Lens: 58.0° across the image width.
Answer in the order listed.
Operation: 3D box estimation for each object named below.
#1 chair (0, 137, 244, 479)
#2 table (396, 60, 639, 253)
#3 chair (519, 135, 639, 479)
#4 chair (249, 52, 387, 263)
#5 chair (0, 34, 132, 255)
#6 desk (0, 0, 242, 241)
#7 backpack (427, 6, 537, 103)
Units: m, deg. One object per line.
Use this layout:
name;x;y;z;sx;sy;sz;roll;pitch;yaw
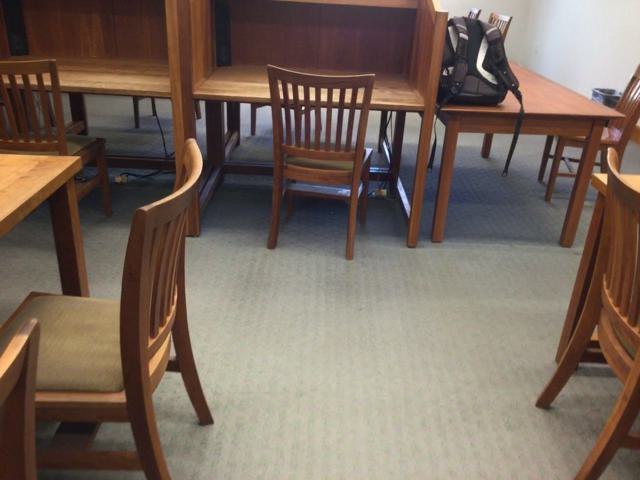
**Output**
chair;-0.570;0.260;1.470;0.620;0.910;0.560;-1;24;0
table;1.020;-0.560;3.400;0.960;0.800;1.250;-1;24;0
chair;0.990;0.230;1.560;0.620;0.910;0.550;-1;24;0
chair;0.000;-0.440;2.960;0.600;0.930;0.600;-1;24;0
chair;-1.390;-0.490;2.850;0.590;0.940;0.650;-1;24;0
desk;-1.160;-0.860;3.090;1.260;1.450;0.970;-1;24;0
backpack;0.770;-0.920;2.840;0.400;0.410;0.400;-1;24;0
